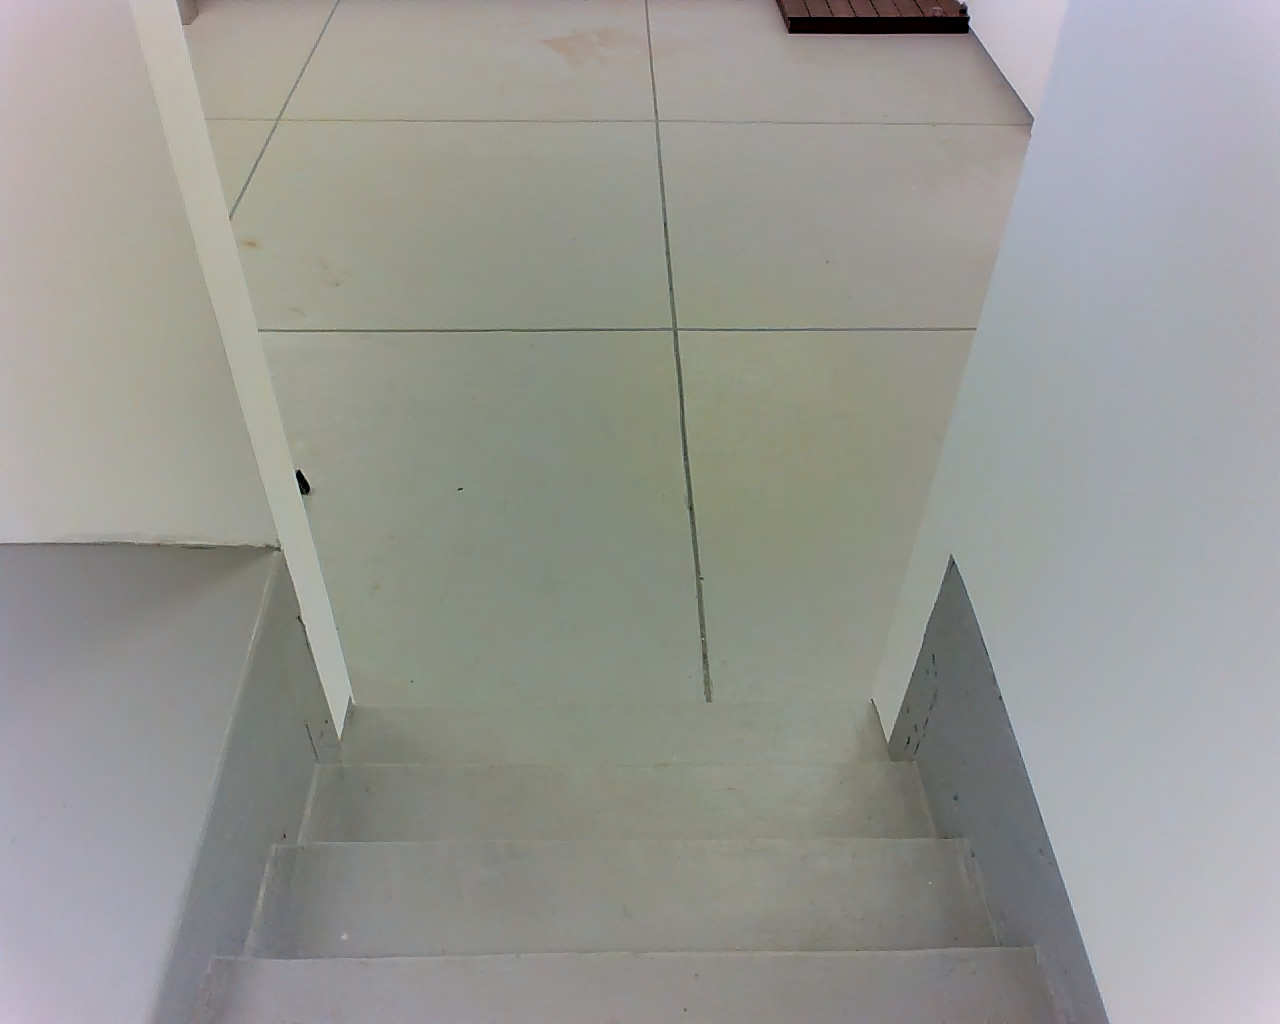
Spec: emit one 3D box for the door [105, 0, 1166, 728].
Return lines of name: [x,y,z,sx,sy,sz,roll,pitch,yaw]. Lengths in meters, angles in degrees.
door: [-0.010,-0.440,2.000,1.600,2.680,0.100,0,43,-2]
